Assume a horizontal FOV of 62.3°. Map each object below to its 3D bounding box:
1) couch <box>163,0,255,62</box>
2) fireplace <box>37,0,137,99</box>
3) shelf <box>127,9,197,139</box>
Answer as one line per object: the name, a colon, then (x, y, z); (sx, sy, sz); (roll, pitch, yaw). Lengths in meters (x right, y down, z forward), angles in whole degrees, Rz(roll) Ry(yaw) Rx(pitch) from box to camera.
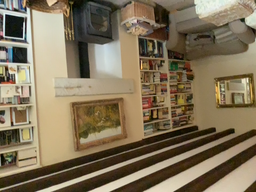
couch: (1.530, -1.210, 3.990); (1.330, 0.840, 1.020); (-3, 180, 41)
fireplace: (-0.600, -0.750, 3.420); (1.420, 1.500, 0.520); (-4, 180, -41)
shelf: (0.800, -0.430, 4.480); (1.750, 2.320, 0.280); (-4, 180, -41)
